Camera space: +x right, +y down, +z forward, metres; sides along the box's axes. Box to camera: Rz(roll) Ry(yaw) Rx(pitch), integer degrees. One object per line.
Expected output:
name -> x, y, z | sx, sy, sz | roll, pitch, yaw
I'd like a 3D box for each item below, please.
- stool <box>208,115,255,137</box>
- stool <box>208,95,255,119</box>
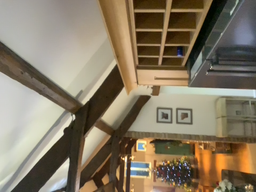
stool -> 1.920, 0.560, 3.910 | 0.350, 0.740, 0.340 | 74, -161, -76
stool -> 1.940, 0.220, 4.000 | 0.340, 0.740, 0.360 | 74, -161, -76
